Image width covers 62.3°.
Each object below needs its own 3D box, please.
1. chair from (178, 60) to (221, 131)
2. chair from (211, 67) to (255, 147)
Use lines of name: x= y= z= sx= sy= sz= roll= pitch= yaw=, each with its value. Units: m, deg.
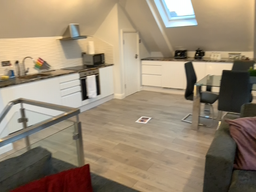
chair: x=1.190 y=-0.040 z=3.570 sx=0.530 sy=1.050 sz=0.460 roll=9 pitch=19 yaw=33
chair: x=1.530 y=0.120 z=3.060 sx=0.460 sy=0.990 sz=0.550 roll=8 pitch=18 yaw=32
